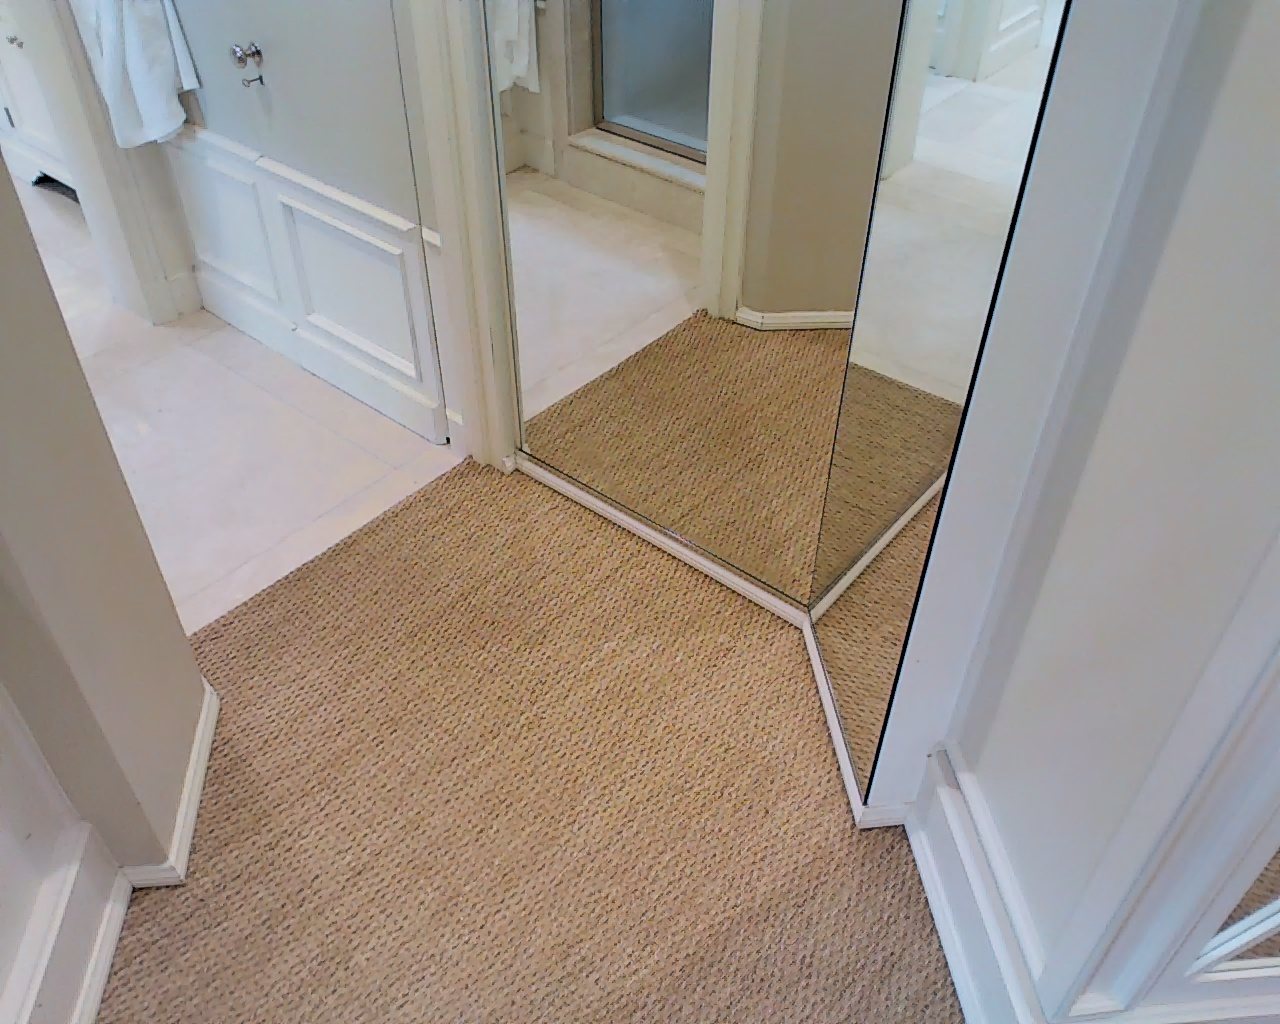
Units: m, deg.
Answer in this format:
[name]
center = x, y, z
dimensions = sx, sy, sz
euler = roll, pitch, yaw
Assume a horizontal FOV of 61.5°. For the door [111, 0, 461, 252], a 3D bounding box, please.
[door]
center = -0.790, -1.380, 1.930
dimensions = 0.980, 1.620, 0.130
euler = 29, 49, 28
